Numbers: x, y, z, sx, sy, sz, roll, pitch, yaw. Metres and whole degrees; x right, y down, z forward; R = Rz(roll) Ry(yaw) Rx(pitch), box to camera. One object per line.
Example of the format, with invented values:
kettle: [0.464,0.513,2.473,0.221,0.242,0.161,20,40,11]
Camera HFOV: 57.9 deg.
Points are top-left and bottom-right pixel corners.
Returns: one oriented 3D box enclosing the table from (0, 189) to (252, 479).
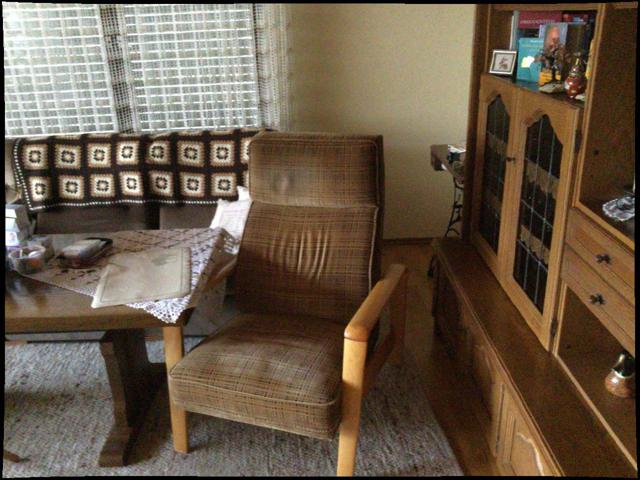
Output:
table: [-1.119,0.320,2.170,1.608,0.731,0.800,-3,22,-1]
